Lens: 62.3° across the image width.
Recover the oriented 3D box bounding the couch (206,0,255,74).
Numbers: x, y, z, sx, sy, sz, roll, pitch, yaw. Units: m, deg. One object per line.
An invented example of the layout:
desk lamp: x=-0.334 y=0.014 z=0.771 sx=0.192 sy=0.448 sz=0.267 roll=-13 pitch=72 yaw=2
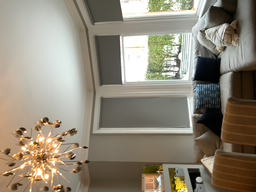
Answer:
couch: x=1.560 y=-0.930 z=2.920 sx=0.780 sy=0.700 sz=1.120 roll=26 pitch=-116 yaw=-85
